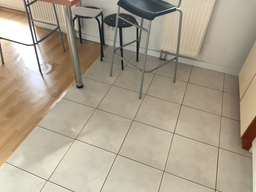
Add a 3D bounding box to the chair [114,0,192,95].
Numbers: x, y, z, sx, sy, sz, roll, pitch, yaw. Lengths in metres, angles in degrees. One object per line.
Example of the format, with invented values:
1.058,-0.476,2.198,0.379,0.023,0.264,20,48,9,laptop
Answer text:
0.190,-0.570,1.830,0.460,0.990,0.390,-30,54,-31,chair
